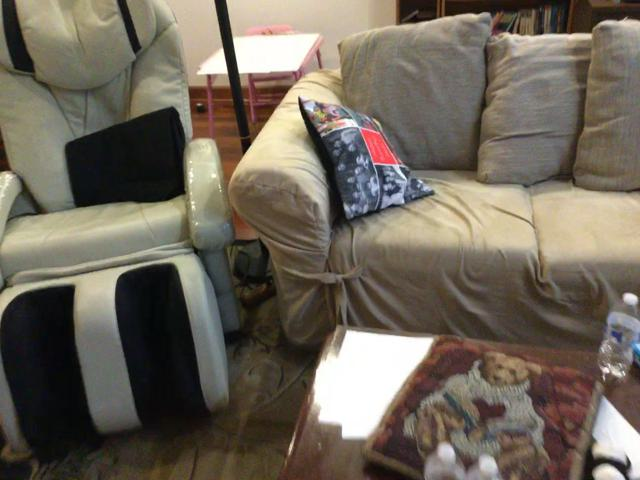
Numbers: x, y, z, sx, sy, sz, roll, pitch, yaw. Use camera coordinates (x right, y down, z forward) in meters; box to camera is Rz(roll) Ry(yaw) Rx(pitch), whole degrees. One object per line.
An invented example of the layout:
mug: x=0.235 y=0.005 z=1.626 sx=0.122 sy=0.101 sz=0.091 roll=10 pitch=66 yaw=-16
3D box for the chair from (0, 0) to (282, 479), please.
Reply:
chair: x=-0.720 y=-0.210 z=1.860 sx=0.900 sy=1.160 sz=1.280 roll=-10 pitch=32 yaw=-6

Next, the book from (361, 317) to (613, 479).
book: x=0.330 y=0.340 z=1.110 sx=0.350 sy=0.070 sz=0.400 roll=14 pitch=37 yaw=30
